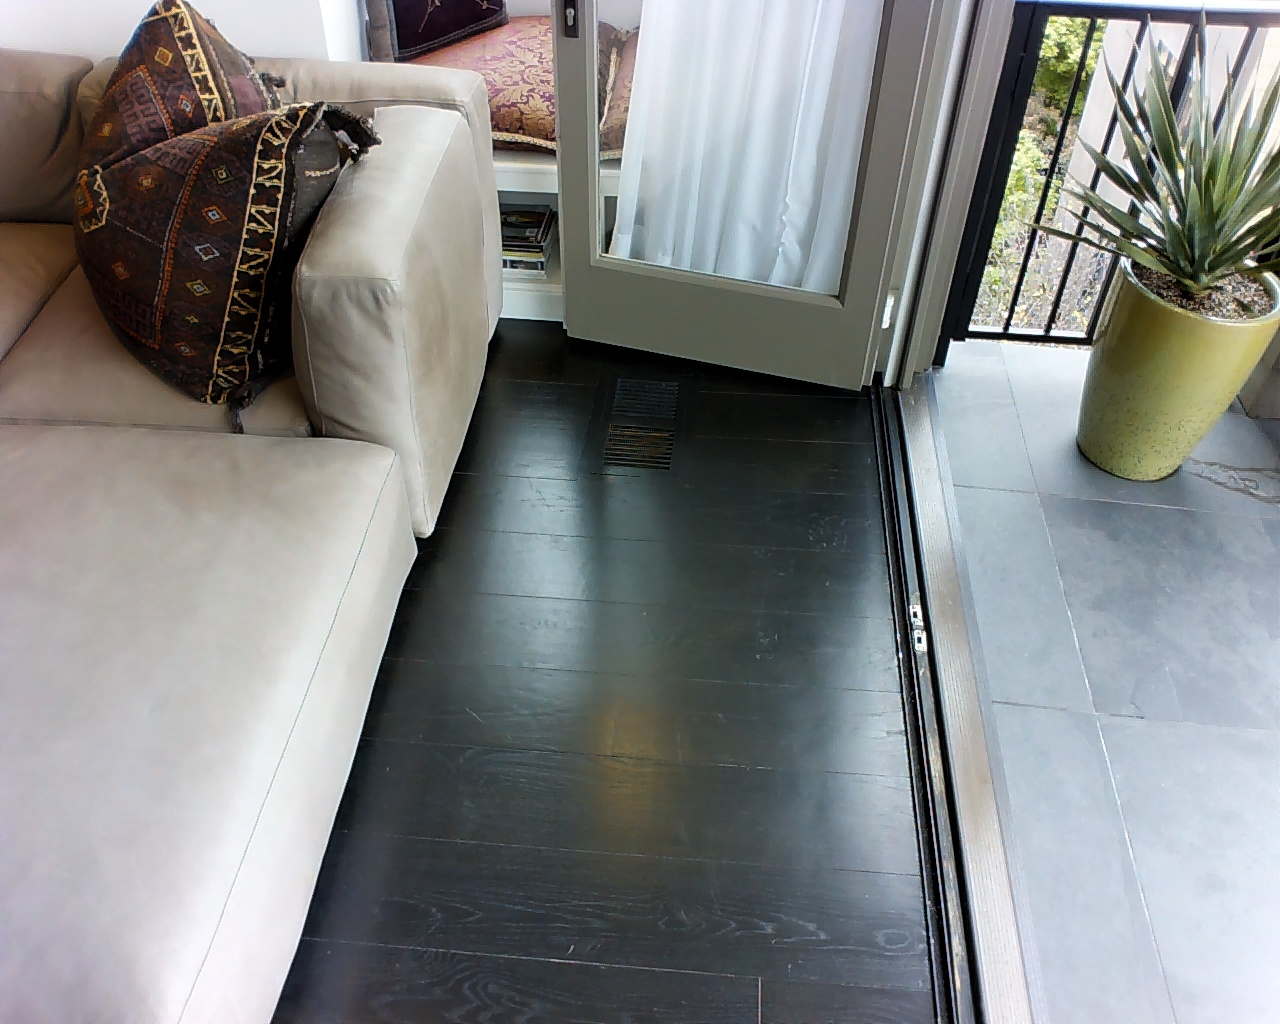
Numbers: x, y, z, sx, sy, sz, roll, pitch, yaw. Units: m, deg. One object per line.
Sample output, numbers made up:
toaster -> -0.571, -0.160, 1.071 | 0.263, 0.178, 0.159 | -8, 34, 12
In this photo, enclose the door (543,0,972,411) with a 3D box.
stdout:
door -> 0.240, -1.340, 1.960 | 0.850, 2.500, 0.230 | 13, 43, 13
